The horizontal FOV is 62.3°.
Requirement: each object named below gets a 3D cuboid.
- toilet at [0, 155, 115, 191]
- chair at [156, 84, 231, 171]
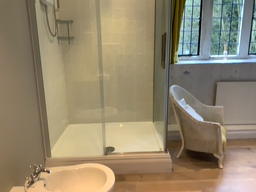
[{"bbox_3d":[-0.430,0.720,1.410,0.690,0.450,0.440,-1,14,-3],"label":"toilet"},{"bbox_3d":[0.760,0.290,2.430,0.660,0.700,0.640,7,16,26],"label":"chair"}]
